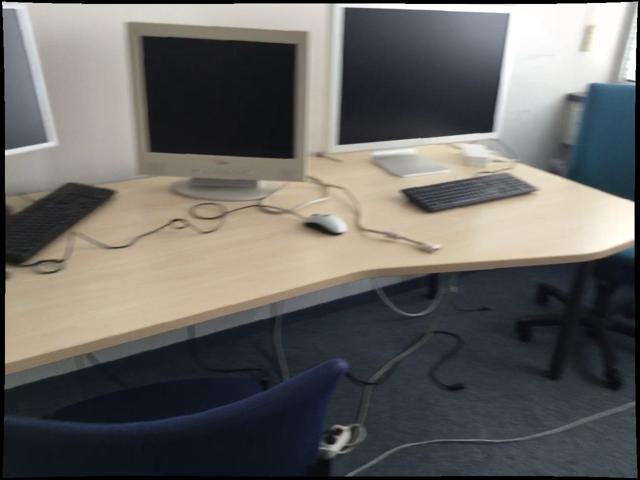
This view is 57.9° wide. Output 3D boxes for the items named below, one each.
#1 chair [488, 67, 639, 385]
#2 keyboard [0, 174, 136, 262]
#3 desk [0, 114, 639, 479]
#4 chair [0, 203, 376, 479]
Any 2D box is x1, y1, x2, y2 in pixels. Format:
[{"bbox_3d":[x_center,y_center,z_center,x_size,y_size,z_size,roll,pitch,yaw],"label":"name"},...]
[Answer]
[{"bbox_3d":[1.159,-0.090,2.250,0.650,0.971,0.660,18,30,27],"label":"chair"},{"bbox_3d":[-0.659,-0.070,1.430,0.200,0.030,0.420,9,27,12],"label":"keyboard"},{"bbox_3d":[-0.050,0.210,1.710,2.069,0.741,1.040,-13,31,-30],"label":"desk"},{"bbox_3d":[-0.300,0.450,1.080,0.510,0.821,0.610,-8,28,-21],"label":"chair"}]
